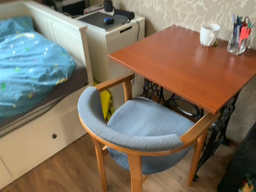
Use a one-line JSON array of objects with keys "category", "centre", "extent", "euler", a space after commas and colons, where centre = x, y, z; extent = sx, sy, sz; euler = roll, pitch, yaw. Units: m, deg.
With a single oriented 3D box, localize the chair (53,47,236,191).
[{"category": "chair", "centre": [0.080, 0.250, 1.190], "extent": [0.610, 0.720, 0.560], "euler": [-32, 49, -32]}]
